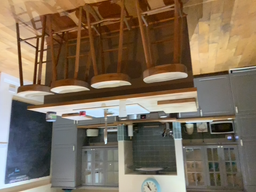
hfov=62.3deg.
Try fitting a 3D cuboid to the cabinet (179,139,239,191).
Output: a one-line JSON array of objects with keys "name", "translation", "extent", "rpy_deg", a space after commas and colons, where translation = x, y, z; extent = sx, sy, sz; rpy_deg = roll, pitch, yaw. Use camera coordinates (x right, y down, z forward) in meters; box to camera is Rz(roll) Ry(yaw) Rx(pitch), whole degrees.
[{"name": "cabinet", "translation": [1.560, 1.360, 4.200], "extent": [0.980, 0.940, 0.450], "rpy_deg": [-6, 166, 18]}]

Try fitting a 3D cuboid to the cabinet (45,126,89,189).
[{"name": "cabinet", "translation": [-1.420, 1.430, 5.080], "extent": [0.680, 1.340, 0.700], "rpy_deg": [-6, 166, 18]}]
